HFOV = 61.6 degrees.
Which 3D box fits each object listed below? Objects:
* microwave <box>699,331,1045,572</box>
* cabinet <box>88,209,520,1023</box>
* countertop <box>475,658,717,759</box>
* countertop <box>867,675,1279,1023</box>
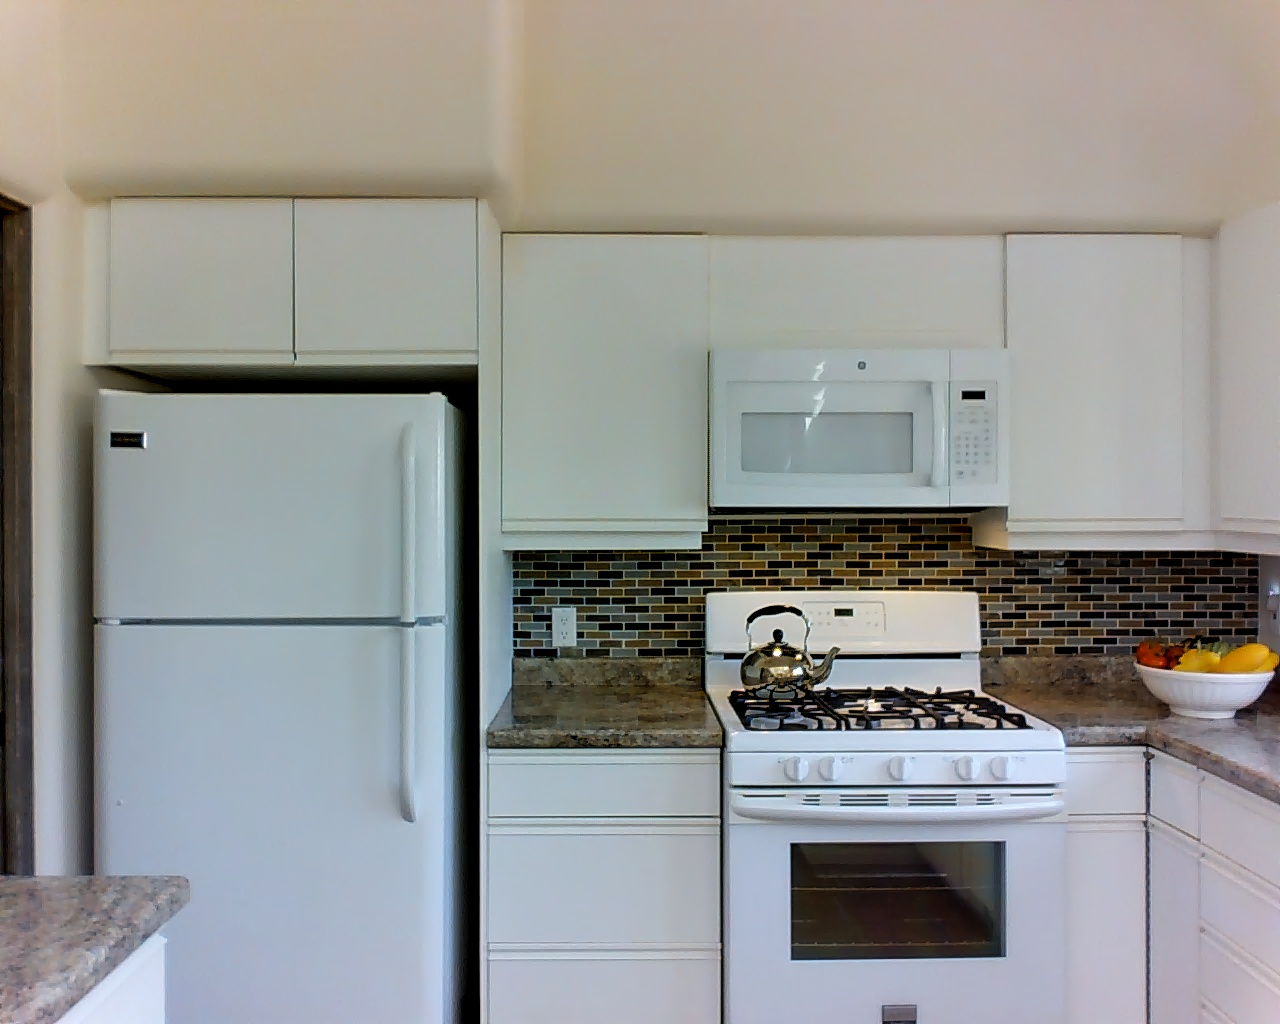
[{"bbox_3d":[0.590,-0.150,2.870,0.840,0.600,0.390,0,0,0],"label":"microwave"},{"bbox_3d":[-0.810,0.350,2.780,0.930,2.101,0.600,0,0,0],"label":"cabinet"},{"bbox_3d":[-0.100,0.490,2.760,0.550,0.140,0.650,0,0,0],"label":"countertop"},{"bbox_3d":[1.240,0.510,1.400,1.170,0.080,3.370,0,0,0],"label":"countertop"}]
